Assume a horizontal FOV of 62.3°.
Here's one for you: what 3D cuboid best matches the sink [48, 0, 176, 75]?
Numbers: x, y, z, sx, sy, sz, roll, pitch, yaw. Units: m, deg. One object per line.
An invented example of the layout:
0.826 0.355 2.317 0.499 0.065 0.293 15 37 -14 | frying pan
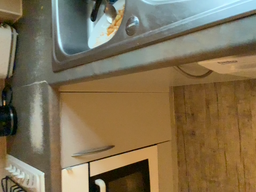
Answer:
-0.080 -0.350 0.680 0.400 0.190 0.510 -3 88 46 | sink
